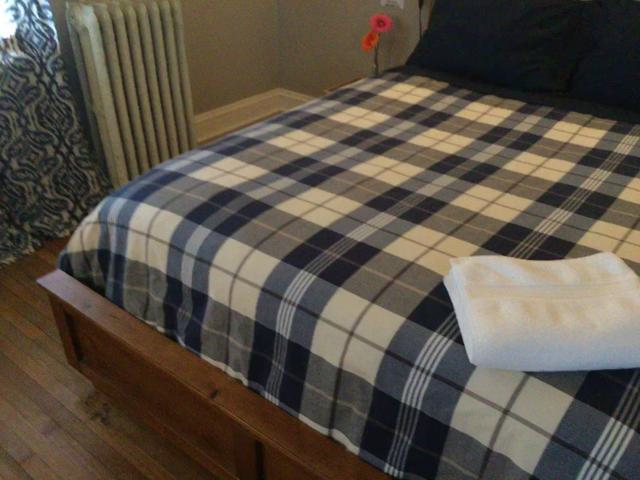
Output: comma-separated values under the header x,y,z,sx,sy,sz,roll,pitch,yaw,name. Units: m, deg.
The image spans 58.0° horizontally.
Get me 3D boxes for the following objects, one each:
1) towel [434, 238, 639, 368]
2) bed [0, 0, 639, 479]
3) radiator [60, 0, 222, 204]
x,y,z,sx,sy,sz,roll,pitch,yaw,name
0.430,0.110,1.130,0.360,0.080,0.310,1,30,2,towel
0.510,-0.270,1.870,1.890,1.410,2.190,22,37,33,bed
-0.820,-0.710,2.790,0.330,0.880,0.530,21,37,32,radiator
